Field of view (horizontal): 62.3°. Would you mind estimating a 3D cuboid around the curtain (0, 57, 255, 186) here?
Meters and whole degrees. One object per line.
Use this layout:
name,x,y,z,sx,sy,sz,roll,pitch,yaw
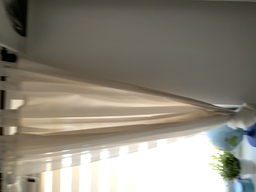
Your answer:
curtain,0.100,0.130,1.140,0.170,1.520,0.600,-62,-26,-90
